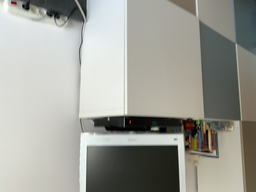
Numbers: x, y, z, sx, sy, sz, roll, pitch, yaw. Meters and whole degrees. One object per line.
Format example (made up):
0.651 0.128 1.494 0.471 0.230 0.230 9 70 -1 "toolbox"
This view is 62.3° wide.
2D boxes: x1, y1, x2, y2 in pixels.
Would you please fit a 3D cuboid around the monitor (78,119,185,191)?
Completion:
0.020 0.340 1.130 0.550 0.430 0.040 0 172 -1 "monitor"
